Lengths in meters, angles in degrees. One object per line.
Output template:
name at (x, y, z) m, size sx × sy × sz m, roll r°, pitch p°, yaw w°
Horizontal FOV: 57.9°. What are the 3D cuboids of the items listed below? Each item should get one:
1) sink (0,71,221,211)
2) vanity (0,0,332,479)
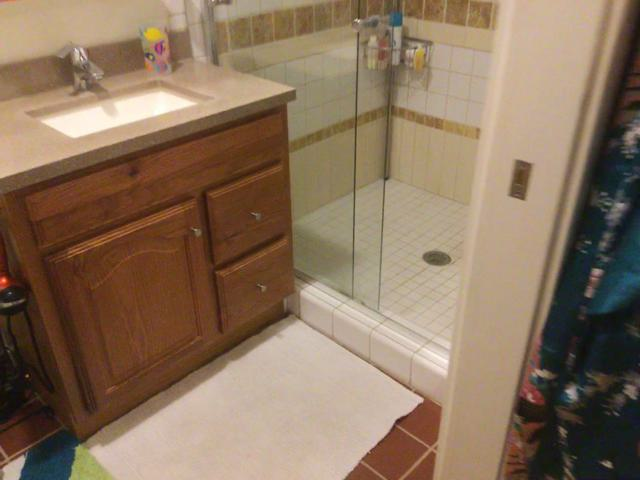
sink at (-0.520, -0.270, 1.450) m, size 0.290 × 0.160 × 0.430 m, roll 25°, pitch 41°, yaw 37°
vanity at (-0.480, -0.080, 1.580) m, size 0.490 × 0.960 × 0.940 m, roll 25°, pitch 41°, yaw 37°
